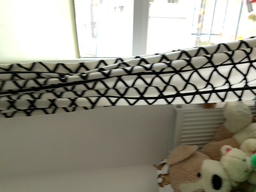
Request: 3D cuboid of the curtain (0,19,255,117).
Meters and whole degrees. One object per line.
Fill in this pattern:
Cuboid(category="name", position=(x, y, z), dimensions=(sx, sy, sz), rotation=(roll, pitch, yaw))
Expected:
Cuboid(category="curtain", position=(0.070, -0.190, 1.290), dimensions=(0.250, 2.140, 0.490), rotation=(-117, 27, -68))
